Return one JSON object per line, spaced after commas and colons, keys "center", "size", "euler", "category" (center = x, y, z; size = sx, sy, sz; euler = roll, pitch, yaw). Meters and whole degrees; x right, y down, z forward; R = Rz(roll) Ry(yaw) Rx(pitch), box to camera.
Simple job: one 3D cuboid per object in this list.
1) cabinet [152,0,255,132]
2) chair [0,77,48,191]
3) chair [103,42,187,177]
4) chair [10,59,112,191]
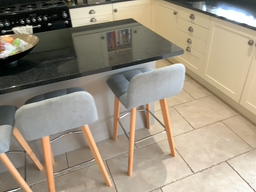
{"center": [1.070, -0.540, 2.490], "size": [0.530, 0.820, 2.410], "euler": [-15, 36, -16], "category": "cabinet"}
{"center": [-0.810, 0.400, 1.270], "size": [0.410, 0.870, 0.410], "euler": [-15, 36, -16], "category": "chair"}
{"center": [0.110, 0.110, 1.600], "size": [0.400, 0.870, 0.410], "euler": [-15, 36, -16], "category": "chair"}
{"center": [-0.400, 0.270, 1.420], "size": [0.400, 0.870, 0.410], "euler": [-15, 36, -16], "category": "chair"}
